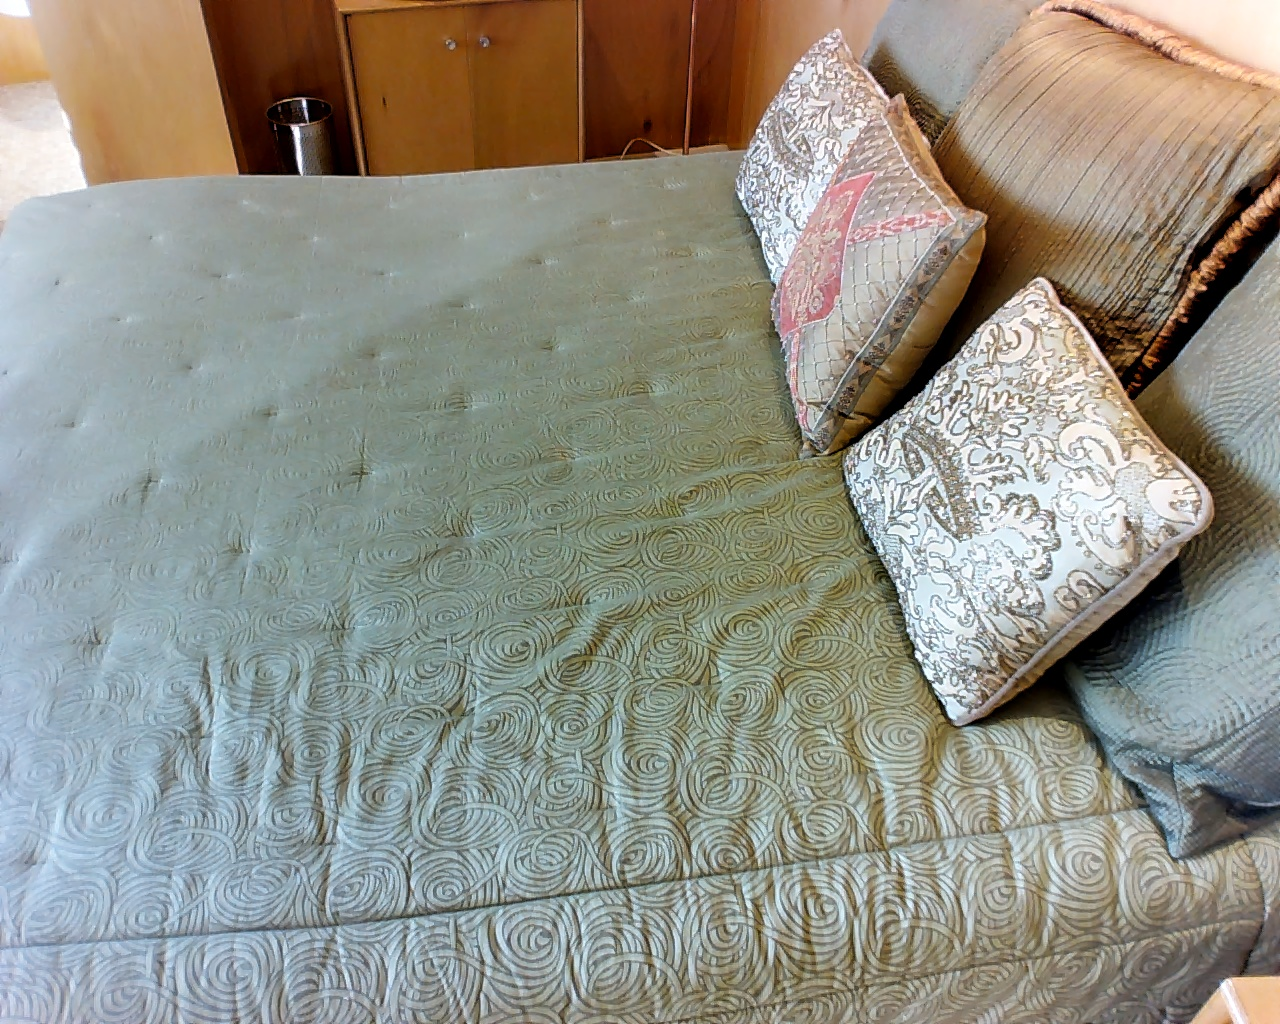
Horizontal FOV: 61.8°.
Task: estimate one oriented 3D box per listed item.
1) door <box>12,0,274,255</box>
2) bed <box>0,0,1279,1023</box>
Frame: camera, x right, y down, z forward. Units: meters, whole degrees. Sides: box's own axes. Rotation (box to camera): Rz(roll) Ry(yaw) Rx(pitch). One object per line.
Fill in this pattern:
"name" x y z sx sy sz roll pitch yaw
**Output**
"door" -1.480 -1.690 2.770 0.790 2.020 0.060 21 45 20
"bed" -0.290 -0.170 1.750 2.269 1.200 2.370 -6 42 -8
